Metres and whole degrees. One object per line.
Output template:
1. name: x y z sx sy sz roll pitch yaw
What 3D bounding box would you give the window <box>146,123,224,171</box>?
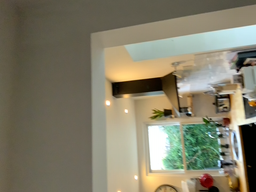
1. window: 1.000 0.930 3.870 0.050 1.290 0.800 35 -129 -74
